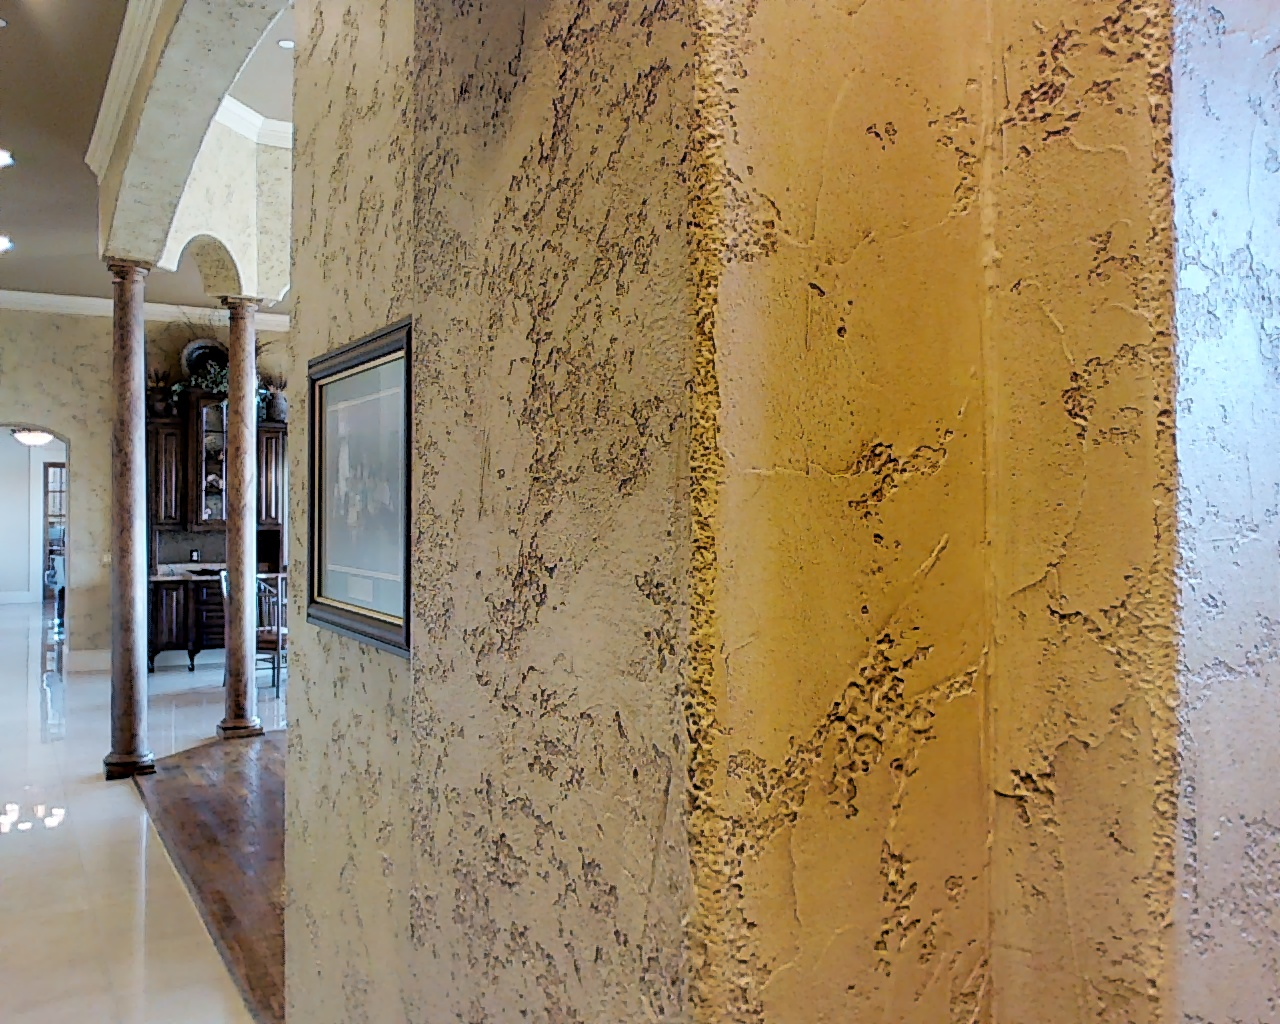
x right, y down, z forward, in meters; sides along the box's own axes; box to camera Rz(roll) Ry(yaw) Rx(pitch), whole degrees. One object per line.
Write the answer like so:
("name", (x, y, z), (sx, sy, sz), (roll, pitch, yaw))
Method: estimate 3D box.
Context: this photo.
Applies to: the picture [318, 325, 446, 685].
("picture", (-0.450, -0.010, 1.810), (0.020, 0.510, 0.650), (0, 0, -30))
